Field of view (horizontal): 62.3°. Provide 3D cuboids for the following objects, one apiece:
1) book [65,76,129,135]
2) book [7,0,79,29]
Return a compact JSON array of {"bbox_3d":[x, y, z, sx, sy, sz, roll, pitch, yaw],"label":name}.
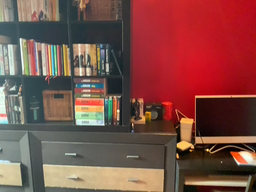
[{"bbox_3d":[-0.210,0.050,1.630,0.400,0.360,0.380,1,12,4],"label":"book"},{"bbox_3d":[-0.590,-0.660,1.540,0.330,0.280,0.410,1,12,5],"label":"book"}]
